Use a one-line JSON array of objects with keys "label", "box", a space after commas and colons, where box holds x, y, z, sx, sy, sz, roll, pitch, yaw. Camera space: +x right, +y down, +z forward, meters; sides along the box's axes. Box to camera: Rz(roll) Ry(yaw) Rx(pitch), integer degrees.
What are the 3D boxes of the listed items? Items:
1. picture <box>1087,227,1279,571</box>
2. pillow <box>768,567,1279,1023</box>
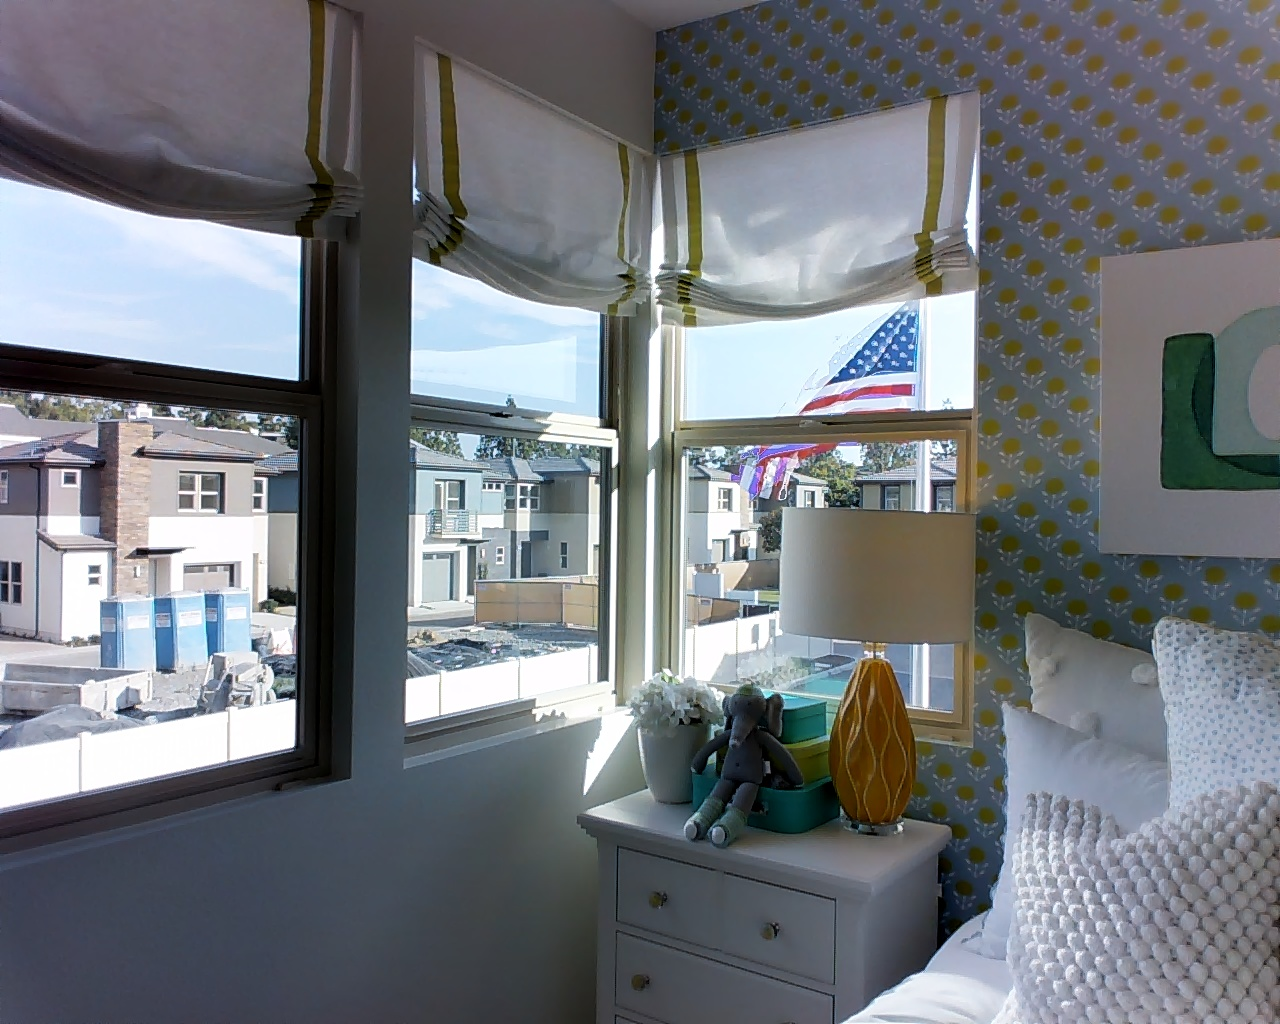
[{"label": "picture", "box": [1.349, -0.210, 1.950, 0.990, 0.650, 0.040, 1, 0, 35]}, {"label": "pillow", "box": [1.070, 0.480, 1.490, 1.390, 0.700, 1.140, 1, 0, 35]}]
